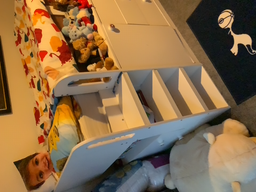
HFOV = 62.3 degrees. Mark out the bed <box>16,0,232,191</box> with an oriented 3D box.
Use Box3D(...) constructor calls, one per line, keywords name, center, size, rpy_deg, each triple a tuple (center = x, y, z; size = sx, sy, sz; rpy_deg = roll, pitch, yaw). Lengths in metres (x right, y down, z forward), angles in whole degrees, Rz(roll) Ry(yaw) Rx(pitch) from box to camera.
Box3D(name="bed", center=(-0.320, -0.360, 2.050), size=(1.150, 1.110, 1.970), rpy_deg=(-56, 51, 49))
